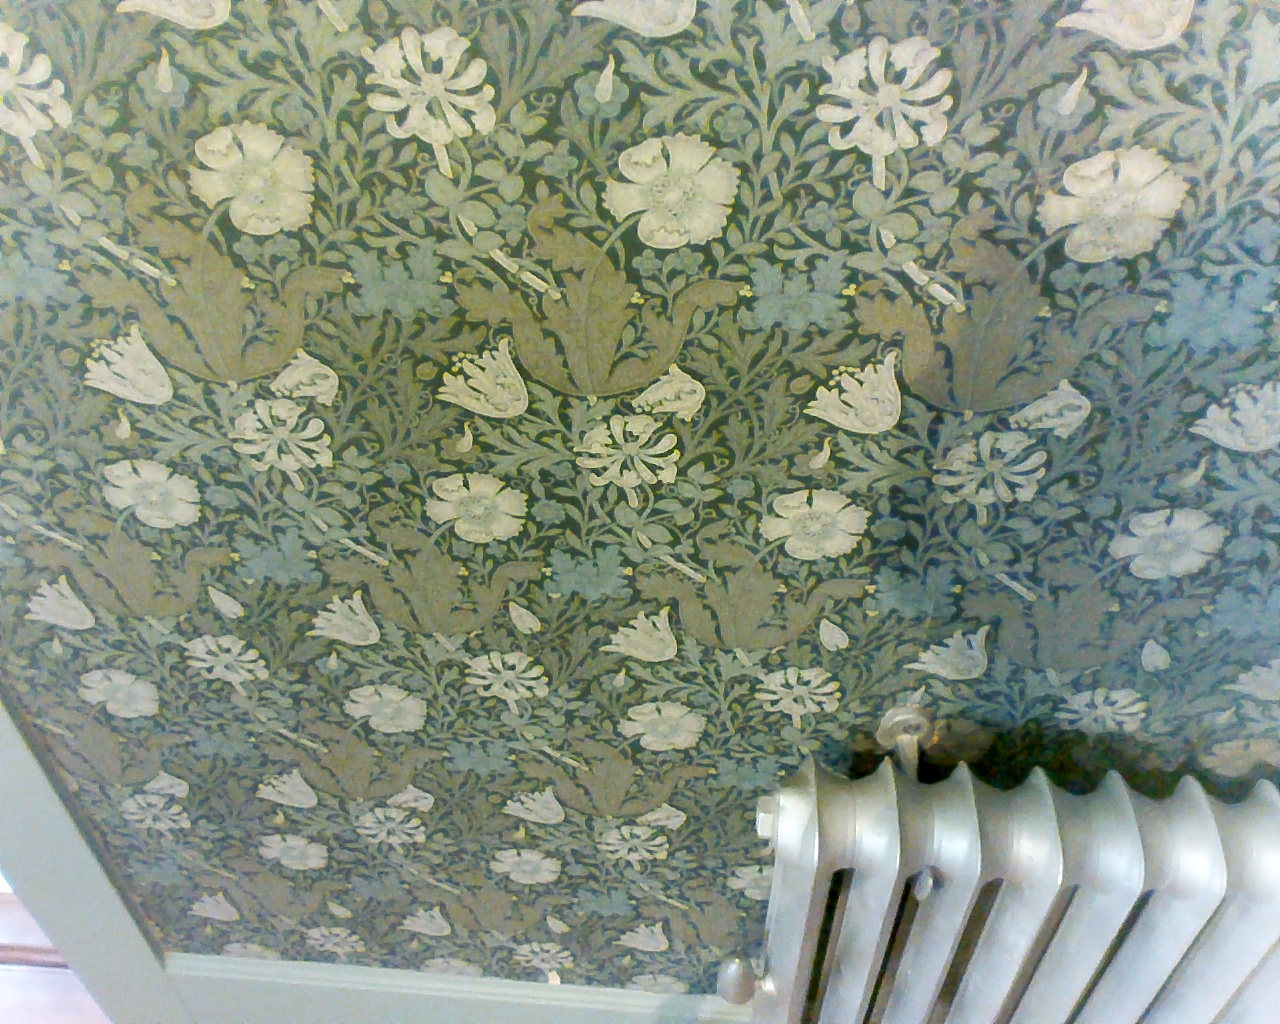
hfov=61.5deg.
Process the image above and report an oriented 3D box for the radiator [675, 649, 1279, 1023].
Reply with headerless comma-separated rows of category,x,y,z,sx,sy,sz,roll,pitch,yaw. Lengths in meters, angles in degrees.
radiator,0.510,0.530,1.140,0.940,0.890,0.170,2,41,3
